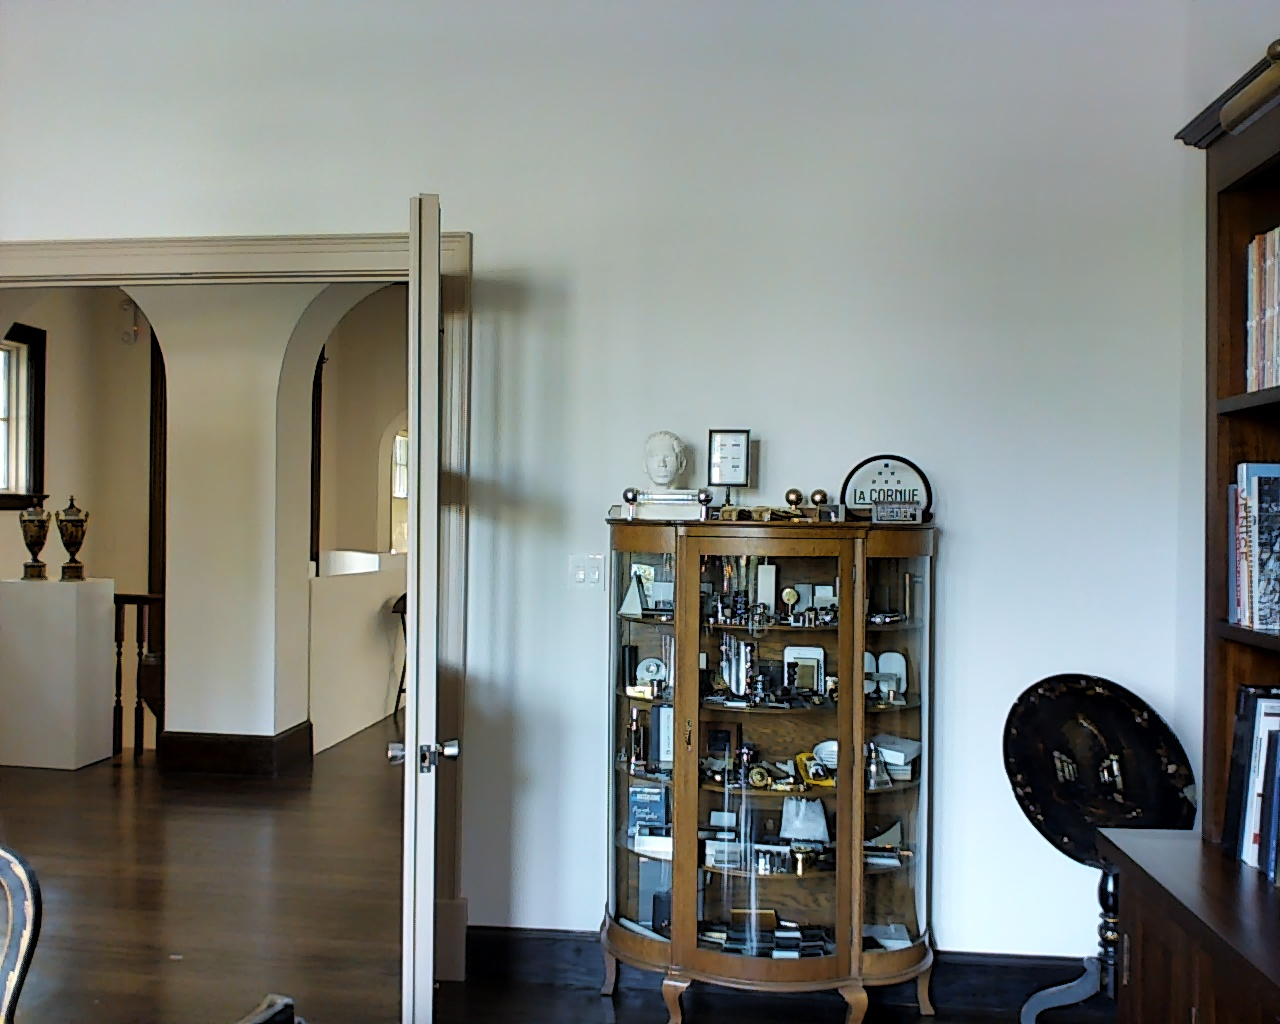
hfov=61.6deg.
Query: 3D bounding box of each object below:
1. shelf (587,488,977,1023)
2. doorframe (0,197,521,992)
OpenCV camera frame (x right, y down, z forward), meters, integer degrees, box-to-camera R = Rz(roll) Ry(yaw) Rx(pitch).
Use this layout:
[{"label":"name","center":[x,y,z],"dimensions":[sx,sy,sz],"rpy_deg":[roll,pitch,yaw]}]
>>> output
[{"label":"shelf","center":[0.400,0.720,3.150],"dimensions":[1.040,1.560,0.450],"rpy_deg":[1,0,6]},{"label":"doorframe","center":[-1.560,0.250,3.690],"dimensions":[2.260,2.520,0.280],"rpy_deg":[1,0,7]}]
